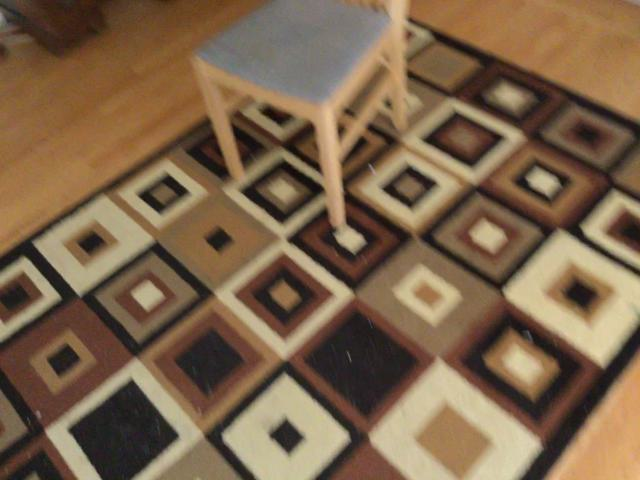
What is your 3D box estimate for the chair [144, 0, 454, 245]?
[{"bbox_3d":[-0.020,-0.590,1.530,0.500,0.940,0.630,28,60,25],"label":"chair"}]
